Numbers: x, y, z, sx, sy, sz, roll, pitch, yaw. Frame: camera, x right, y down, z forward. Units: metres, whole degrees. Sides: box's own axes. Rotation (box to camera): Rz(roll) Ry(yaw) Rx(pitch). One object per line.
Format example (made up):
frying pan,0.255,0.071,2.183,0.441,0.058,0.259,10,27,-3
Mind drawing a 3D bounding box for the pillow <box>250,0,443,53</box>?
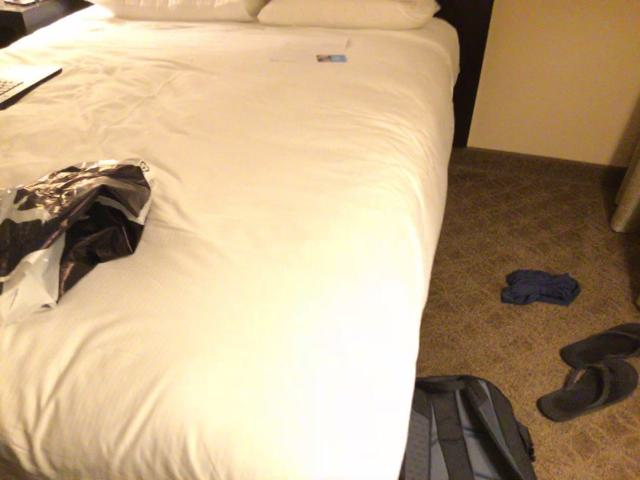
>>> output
pillow,0.090,-0.780,1.960,0.610,0.150,0.230,12,35,13
